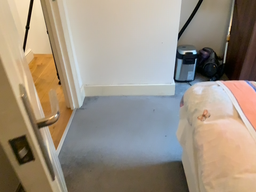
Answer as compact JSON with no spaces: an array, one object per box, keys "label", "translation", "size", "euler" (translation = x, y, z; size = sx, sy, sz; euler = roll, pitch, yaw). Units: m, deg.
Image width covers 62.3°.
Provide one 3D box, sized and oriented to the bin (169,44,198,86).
[{"label":"bin","translation":[0.610,-0.350,2.380],"size":[0.230,0.380,0.280],"euler":[1,34,4]}]
